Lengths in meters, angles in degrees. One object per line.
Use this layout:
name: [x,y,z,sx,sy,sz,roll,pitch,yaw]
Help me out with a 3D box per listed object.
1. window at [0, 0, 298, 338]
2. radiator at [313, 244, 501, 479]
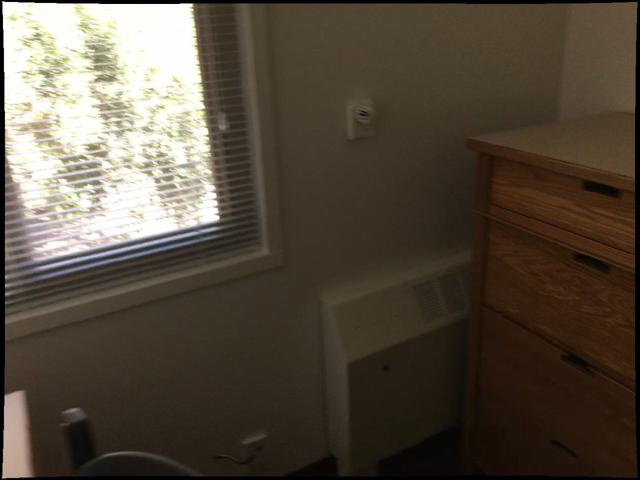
window: [-0.698,-0.160,1.250,1.258,0.691,0.220,-16,25,-23]
radiator: [0.289,0.401,1.810,0.549,0.641,0.160,-16,25,-23]
